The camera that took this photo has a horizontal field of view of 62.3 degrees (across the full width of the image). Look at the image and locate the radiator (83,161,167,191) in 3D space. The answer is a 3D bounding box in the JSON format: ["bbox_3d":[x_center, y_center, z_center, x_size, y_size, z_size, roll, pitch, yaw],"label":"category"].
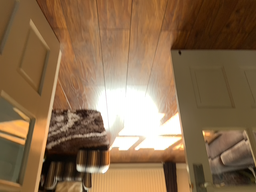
[{"bbox_3d":[-0.060,1.670,4.300,1.640,0.640,0.110,0,151,-2],"label":"radiator"}]

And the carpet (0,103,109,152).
[{"bbox_3d":[-0.910,0.520,2.910,1.200,0.040,1.720,-1,151,-1],"label":"carpet"}]
